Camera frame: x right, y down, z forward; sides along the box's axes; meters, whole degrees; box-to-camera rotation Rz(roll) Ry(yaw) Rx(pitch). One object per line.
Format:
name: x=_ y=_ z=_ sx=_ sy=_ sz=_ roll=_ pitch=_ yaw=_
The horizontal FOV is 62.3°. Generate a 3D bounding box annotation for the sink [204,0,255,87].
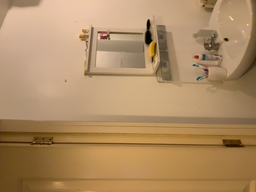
sink: x=0.670 y=-0.400 z=1.280 sx=0.420 sy=0.170 sz=0.550 roll=96 pitch=175 yaw=-59

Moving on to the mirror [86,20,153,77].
mirror: x=-0.050 y=-0.330 z=1.430 sx=0.050 sy=0.410 sz=0.440 roll=97 pitch=174 yaw=-60
